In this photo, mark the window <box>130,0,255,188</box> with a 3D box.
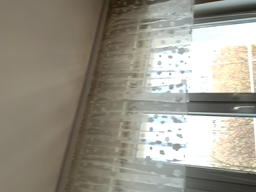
[{"bbox_3d":[0.790,-0.130,1.570,0.250,1.340,1.470,51,-136,-58],"label":"window"}]
